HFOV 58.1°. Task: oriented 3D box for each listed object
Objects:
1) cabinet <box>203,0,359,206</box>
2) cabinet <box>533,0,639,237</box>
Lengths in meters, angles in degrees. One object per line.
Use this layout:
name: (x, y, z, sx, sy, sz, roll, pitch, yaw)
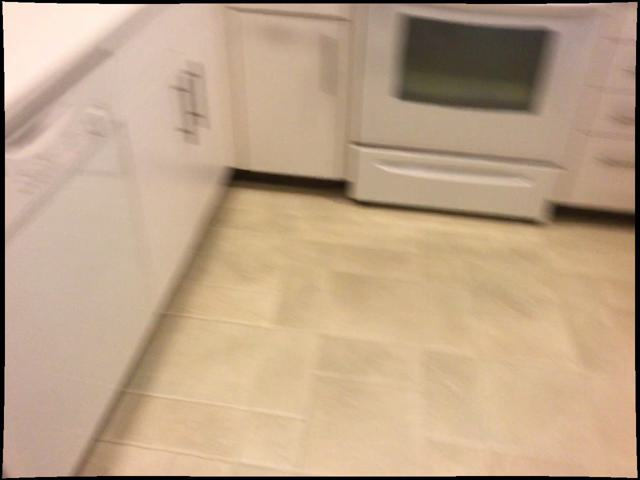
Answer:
cabinet: (-0.140, -0.541, 2.140, 0.509, 0.841, 0.150, 6, 37, 3)
cabinet: (1.127, -0.411, 2.040, 0.489, 0.891, 0.090, 6, 37, 3)
